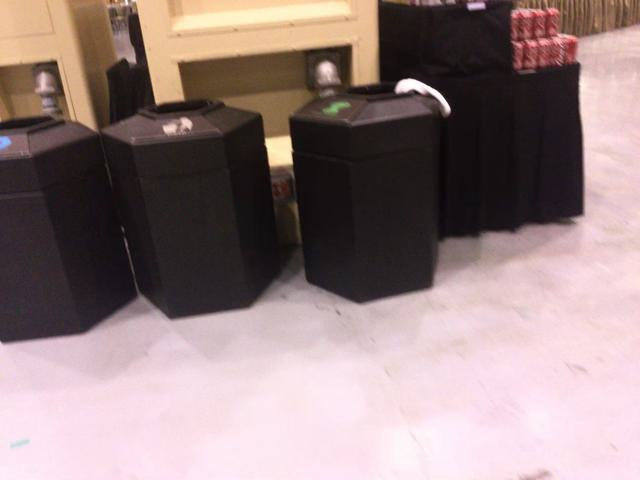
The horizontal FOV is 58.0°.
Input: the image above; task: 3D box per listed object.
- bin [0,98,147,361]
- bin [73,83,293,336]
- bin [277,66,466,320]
[{"bbox_3d":[-1.070,-0.060,2.320,0.510,0.780,0.610,-10,32,-6],"label":"bin"},{"bbox_3d":[-0.510,-0.150,2.370,0.630,0.760,0.600,-10,29,-5],"label":"bin"},{"bbox_3d":[0.200,-0.210,2.330,0.580,0.780,0.560,-10,29,-5],"label":"bin"}]
